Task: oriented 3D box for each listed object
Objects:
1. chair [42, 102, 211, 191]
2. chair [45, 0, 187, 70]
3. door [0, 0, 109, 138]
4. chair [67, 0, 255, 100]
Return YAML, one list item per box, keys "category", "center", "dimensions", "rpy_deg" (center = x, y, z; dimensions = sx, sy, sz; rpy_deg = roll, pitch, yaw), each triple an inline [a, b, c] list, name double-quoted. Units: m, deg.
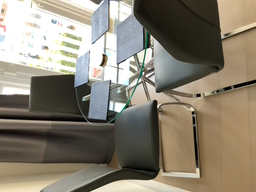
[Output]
- category: "chair"
  center: [0.030, 0.400, 1.370]
  dimensions: [0.440, 0.990, 0.550]
  rpy_deg: [-18, 69, 51]
- category: "chair"
  center: [-0.040, -0.600, 1.670]
  dimensions: [0.440, 1.010, 0.540]
  rpy_deg: [-7, 77, 53]
- category: "door"
  center: [-1.240, -0.630, 2.530]
  dimensions: [0.120, 2.190, 2.200]
  rpy_deg: [-10, 75, 52]
- category: "chair"
  center: [0.270, -0.290, 1.180]
  dimensions: [0.550, 1.020, 0.440]
  rpy_deg: [-15, 71, 51]
